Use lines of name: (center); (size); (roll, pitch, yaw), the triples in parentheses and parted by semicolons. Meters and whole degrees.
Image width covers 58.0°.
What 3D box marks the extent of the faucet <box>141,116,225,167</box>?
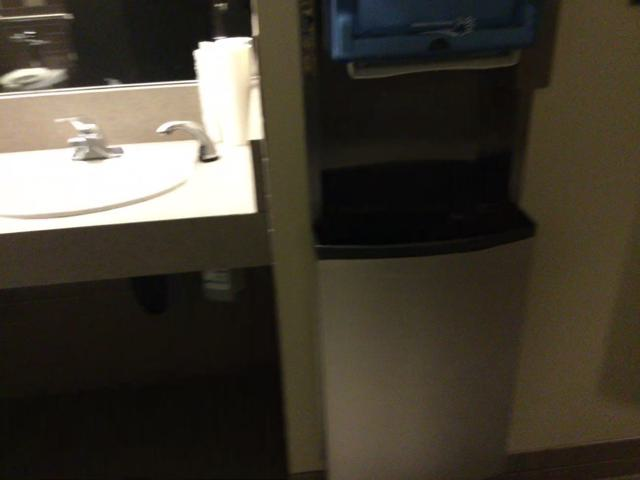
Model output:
faucet: (-0.360, -0.270, 1.560); (0.180, 0.070, 0.240); (-4, 24, -3)

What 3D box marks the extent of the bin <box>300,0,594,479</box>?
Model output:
bin: (0.220, 0.060, 1.230); (0.460, 1.110, 0.240); (-4, 24, -3)

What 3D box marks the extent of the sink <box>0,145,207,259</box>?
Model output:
sink: (-0.540, -0.100, 1.360); (0.490, 0.140, 0.330); (-4, 24, -3)

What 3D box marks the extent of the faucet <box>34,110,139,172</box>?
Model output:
faucet: (-0.620, -0.270, 1.560); (0.190, 0.110, 0.200); (-3, 24, 0)
